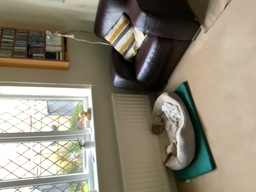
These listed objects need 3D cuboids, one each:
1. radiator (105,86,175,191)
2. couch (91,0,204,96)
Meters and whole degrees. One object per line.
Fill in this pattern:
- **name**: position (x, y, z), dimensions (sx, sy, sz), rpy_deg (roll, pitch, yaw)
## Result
- **radiator**: position (0.110, 0.500, 2.510), dimensions (0.110, 0.610, 1.350), rpy_deg (124, 142, -55)
- **couch**: position (0.090, -0.720, 2.560), dimensions (1.100, 0.820, 0.950), rpy_deg (116, 148, -48)
